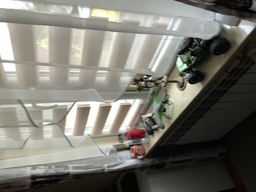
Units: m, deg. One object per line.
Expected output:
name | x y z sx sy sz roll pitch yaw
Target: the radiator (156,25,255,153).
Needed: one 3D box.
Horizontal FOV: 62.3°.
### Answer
radiator | 0.660 0.040 1.380 0.970 0.630 0.160 112 149 -46
